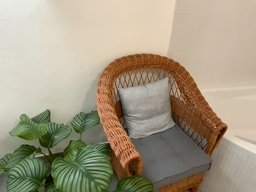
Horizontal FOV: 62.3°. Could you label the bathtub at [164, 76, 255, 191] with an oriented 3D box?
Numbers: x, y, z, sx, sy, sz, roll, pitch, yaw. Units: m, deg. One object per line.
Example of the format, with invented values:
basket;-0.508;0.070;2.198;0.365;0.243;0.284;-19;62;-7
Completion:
bathtub;1.190;0.430;1.520;1.320;0.550;1.370;-7;34;-16
